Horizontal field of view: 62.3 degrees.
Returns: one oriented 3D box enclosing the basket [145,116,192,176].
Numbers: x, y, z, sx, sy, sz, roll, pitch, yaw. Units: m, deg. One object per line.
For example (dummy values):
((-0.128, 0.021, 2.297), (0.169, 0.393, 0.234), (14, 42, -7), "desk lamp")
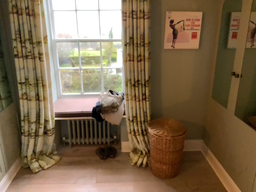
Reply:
((0.440, 0.560, 2.440), (0.440, 0.550, 0.360), (-1, 18, -3), "basket")
